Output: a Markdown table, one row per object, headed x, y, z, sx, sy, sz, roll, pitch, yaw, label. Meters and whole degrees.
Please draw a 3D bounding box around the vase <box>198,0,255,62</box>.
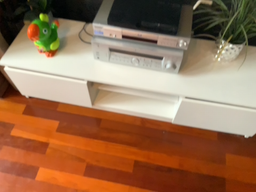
| x | y | z | sx | sy | sz | roll | pitch | yaw | label |
| --- | --- | --- | --- | --- | --- | --- | --- | --- | --- |
| 0.540 | -0.400 | 1.030 | 0.260 | 0.420 | 0.190 | 11 | 58 | 5 | vase |
